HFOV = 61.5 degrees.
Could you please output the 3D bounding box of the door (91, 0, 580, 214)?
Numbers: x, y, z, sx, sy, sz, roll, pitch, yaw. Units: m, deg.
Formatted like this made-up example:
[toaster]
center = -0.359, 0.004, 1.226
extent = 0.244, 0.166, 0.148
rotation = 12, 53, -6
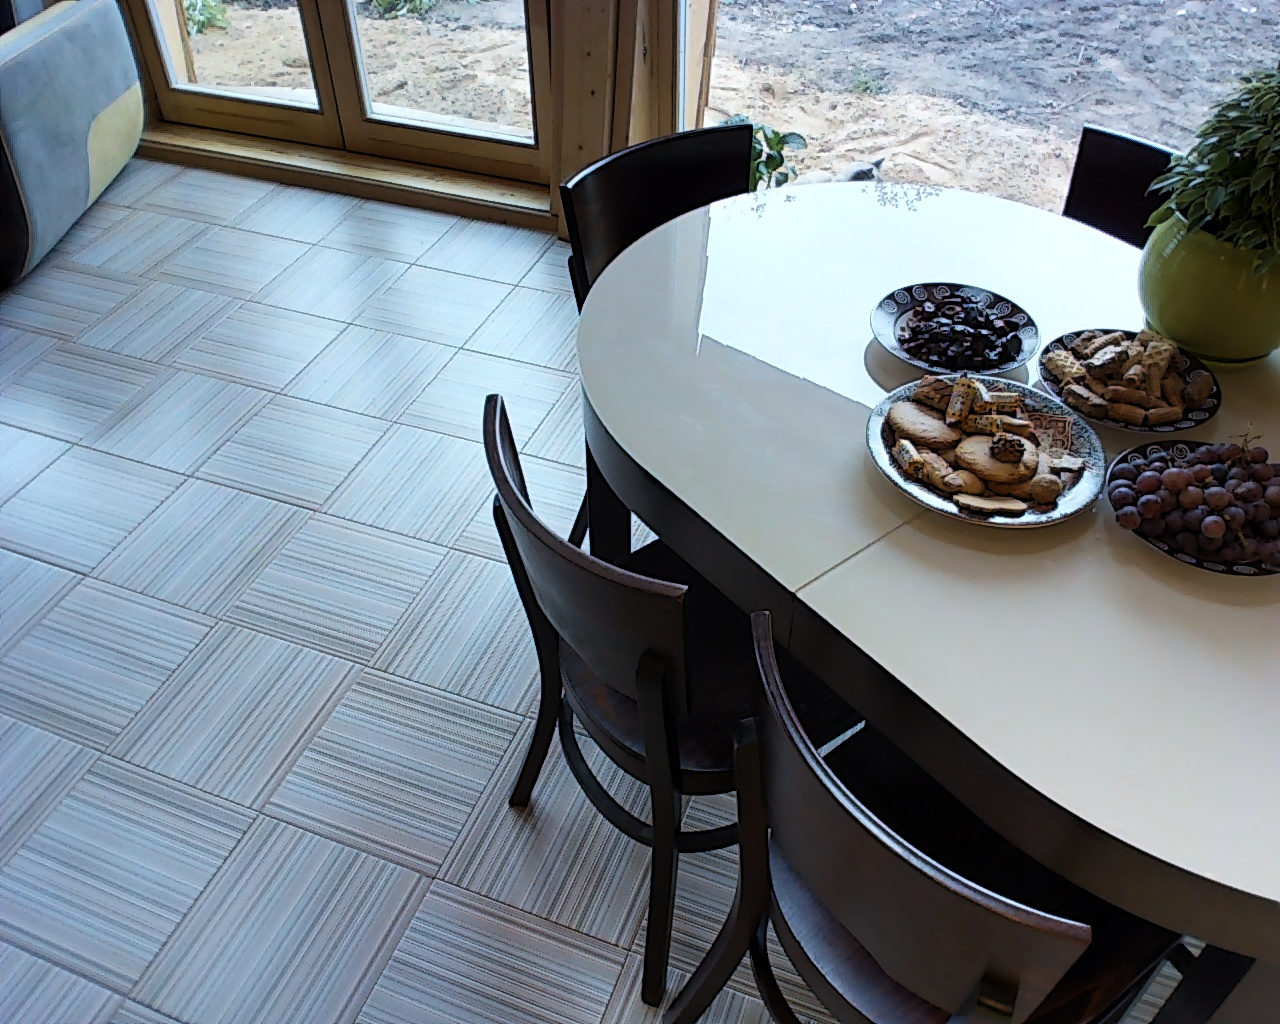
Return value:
[door]
center = -0.960, -1.900, 2.850
extent = 1.550, 2.060, 0.180
rotation = 13, 44, 15
